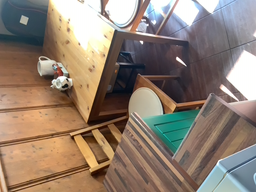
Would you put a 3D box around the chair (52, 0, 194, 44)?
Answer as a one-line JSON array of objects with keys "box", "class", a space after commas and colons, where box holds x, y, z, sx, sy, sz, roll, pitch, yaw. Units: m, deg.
[{"box": [-0.020, -0.760, 1.590, 0.460, 0.910, 0.460, 56, 133, 31], "class": "chair"}]

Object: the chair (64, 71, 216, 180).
[{"box": [0.100, 0.140, 1.540, 0.460, 0.910, 0.460, 46, 127, 38], "class": "chair"}]
